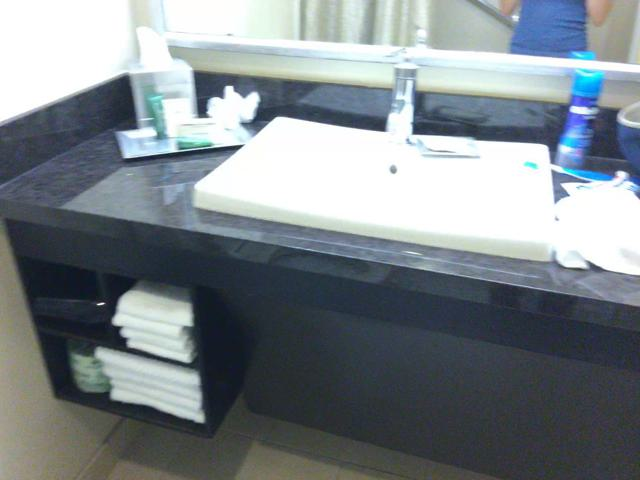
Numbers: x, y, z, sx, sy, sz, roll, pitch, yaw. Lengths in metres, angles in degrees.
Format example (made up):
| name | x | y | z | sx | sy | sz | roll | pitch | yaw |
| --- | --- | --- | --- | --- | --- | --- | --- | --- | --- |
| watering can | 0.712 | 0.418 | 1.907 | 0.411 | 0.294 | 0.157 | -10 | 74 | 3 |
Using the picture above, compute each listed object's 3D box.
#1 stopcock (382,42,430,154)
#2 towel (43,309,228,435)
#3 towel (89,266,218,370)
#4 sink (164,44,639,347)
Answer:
| name | x | y | z | sx | sy | sz | roll | pitch | yaw |
| --- | --- | --- | --- | --- | --- | --- | --- | --- | --- |
| stopcock | 0.180 | -0.300 | 1.210 | 0.060 | 0.190 | 0.160 | 9 | 30 | 13 |
| towel | -0.390 | 0.280 | 1.240 | 0.370 | 0.190 | 0.080 | 9 | 30 | 13 |
| towel | -0.320 | 0.150 | 1.130 | 0.210 | 0.140 | 0.090 | 9 | 30 | 13 |
| sink | 0.180 | -0.140 | 1.080 | 0.740 | 0.300 | 0.490 | 9 | 30 | 13 |
